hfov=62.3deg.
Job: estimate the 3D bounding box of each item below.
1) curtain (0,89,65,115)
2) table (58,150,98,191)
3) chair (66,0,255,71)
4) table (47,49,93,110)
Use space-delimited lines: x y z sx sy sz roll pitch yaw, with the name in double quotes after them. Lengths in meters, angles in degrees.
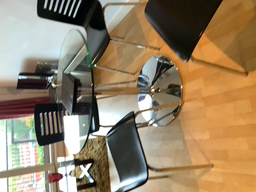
-2.350 0.120 4.200 0.320 2.080 0.420 -30 66 56 "curtain"
-0.790 1.100 3.210 0.910 0.290 0.480 -27 69 57 "table"
0.220 -0.410 0.960 0.400 0.850 0.390 -55 46 45 "chair"
-1.050 -0.190 3.610 1.470 0.340 0.610 -25 70 57 "table"
